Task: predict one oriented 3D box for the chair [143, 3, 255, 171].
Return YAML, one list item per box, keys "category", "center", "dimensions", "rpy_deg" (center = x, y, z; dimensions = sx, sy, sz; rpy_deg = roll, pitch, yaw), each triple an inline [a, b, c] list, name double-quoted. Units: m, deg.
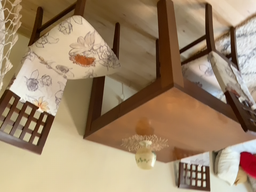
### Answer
- category: "chair"
  center: [0.470, -0.050, 1.520]
  dimensions: [0.560, 0.980, 0.440]
  rpy_deg: [-27, 138, 37]
